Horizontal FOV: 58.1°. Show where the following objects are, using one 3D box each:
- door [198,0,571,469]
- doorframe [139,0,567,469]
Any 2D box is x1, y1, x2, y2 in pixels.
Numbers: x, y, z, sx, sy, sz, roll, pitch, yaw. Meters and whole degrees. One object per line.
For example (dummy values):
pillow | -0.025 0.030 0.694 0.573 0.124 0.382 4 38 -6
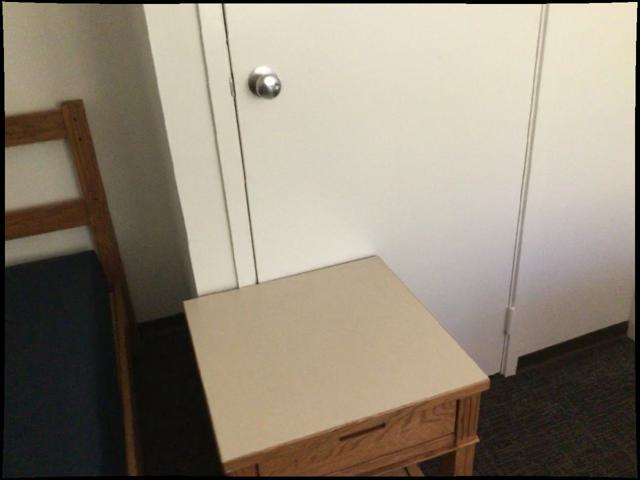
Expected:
door | 0.229 0.000 1.520 0.848 1.262 0.070 -14 29 -14
doorframe | 0.180 -0.010 1.530 0.988 1.273 0.030 -14 29 -14
